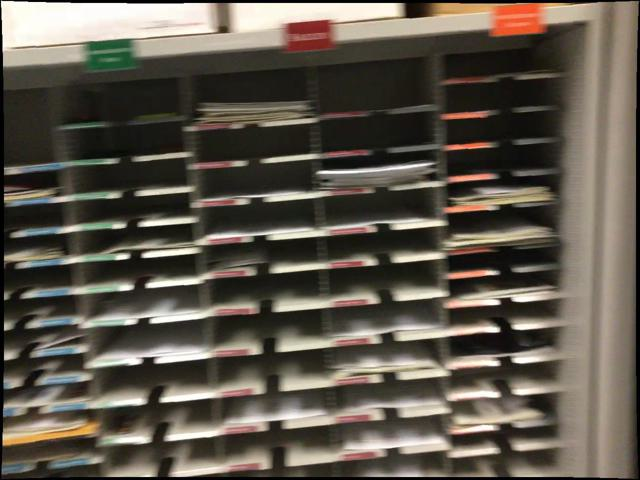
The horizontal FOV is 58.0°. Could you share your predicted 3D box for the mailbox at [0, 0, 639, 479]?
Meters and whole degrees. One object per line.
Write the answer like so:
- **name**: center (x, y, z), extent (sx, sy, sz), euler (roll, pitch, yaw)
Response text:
- **mailbox**: center (-0.339, 0.170, 1.280), extent (1.846, 1.343, 0.790), euler (-6, 14, -1)
